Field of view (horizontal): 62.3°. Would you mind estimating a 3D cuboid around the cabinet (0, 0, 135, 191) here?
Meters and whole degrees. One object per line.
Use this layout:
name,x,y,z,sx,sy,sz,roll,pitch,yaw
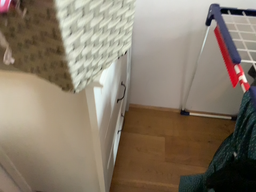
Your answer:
cabinet,-0.260,-0.020,1.060,0.470,0.910,0.800,7,45,5
